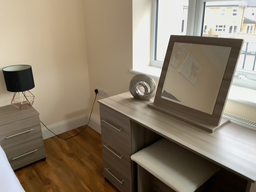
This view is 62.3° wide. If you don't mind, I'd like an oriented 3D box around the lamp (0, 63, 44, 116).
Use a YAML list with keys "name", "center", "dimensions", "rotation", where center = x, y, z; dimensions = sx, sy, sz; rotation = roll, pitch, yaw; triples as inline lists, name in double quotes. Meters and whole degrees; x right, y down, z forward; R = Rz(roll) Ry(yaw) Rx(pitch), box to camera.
- name: "lamp"
  center: [-1.040, -0.080, 2.040]
  dimensions: [0.290, 0.400, 0.290]
  rotation: [-19, 28, -39]

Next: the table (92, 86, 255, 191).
- name: "table"
  center: [0.270, 0.470, 1.520]
  dimensions: [0.420, 0.760, 1.190]
  rotation: [-18, 27, -37]

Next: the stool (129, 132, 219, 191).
- name: "stool"
  center: [0.290, 0.620, 1.470]
  dimensions: [0.350, 0.510, 0.450]
  rotation: [-18, 27, -37]
